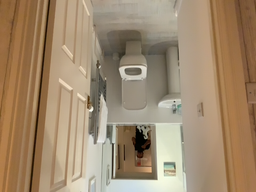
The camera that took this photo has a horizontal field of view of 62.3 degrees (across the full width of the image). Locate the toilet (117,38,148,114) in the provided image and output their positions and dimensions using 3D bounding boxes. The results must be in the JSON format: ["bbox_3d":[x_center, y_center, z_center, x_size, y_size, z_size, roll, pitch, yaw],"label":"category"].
[{"bbox_3d":[0.060,-0.230,2.880,0.370,0.860,0.670,0,167,1],"label":"toilet"}]
